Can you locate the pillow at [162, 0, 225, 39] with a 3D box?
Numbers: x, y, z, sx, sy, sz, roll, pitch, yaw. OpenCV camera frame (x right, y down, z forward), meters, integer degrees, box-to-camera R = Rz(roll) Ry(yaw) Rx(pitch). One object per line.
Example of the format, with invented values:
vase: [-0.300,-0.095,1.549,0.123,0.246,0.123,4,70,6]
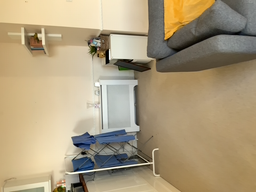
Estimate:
pillow: [0.510,-0.700,1.690,0.170,0.400,0.400,170,87,-72]

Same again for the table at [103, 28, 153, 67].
table: [-0.040,-0.840,3.880,0.870,0.650,0.470,175,94,-71]
